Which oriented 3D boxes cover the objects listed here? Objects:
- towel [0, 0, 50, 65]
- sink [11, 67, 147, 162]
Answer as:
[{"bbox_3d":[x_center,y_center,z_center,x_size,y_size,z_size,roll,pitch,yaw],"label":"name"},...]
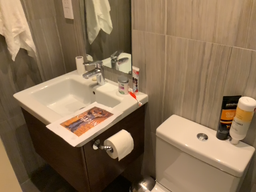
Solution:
[{"bbox_3d":[-0.650,-0.470,1.200,0.120,0.510,0.270,25,40,37],"label":"towel"},{"bbox_3d":[-0.290,0.040,1.250,0.640,0.140,0.480,23,38,36],"label":"sink"}]
